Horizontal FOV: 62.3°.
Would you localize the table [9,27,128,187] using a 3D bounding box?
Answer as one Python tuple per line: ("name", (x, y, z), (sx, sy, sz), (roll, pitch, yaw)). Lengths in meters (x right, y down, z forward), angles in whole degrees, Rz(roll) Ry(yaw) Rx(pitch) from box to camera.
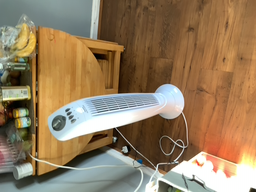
("table", (-0.410, 0.030, 1.560), (0.360, 0.720, 0.910), (13, 103, 39))
